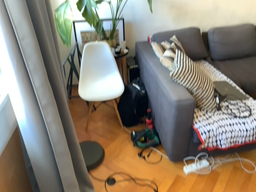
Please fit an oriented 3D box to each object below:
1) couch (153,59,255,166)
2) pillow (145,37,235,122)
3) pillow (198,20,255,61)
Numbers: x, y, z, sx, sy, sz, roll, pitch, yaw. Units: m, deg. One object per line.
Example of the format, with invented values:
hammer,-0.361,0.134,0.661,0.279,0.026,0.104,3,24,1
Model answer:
couch,0.730,0.120,1.960,0.850,0.670,0.600,-6,31,-7
pillow,0.520,-0.250,2.170,0.500,0.400,1.090,-5,30,-4
pillow,1.320,-0.710,2.740,0.640,0.430,0.260,-6,62,-8
